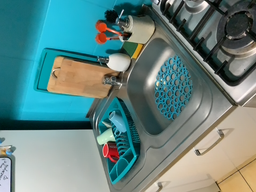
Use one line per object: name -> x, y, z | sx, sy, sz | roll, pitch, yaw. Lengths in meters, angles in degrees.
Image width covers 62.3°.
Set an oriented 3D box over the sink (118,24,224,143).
sink -> 0.150, -0.050, 0.950 | 0.360, 0.150, 0.360 | -58, 42, 35
